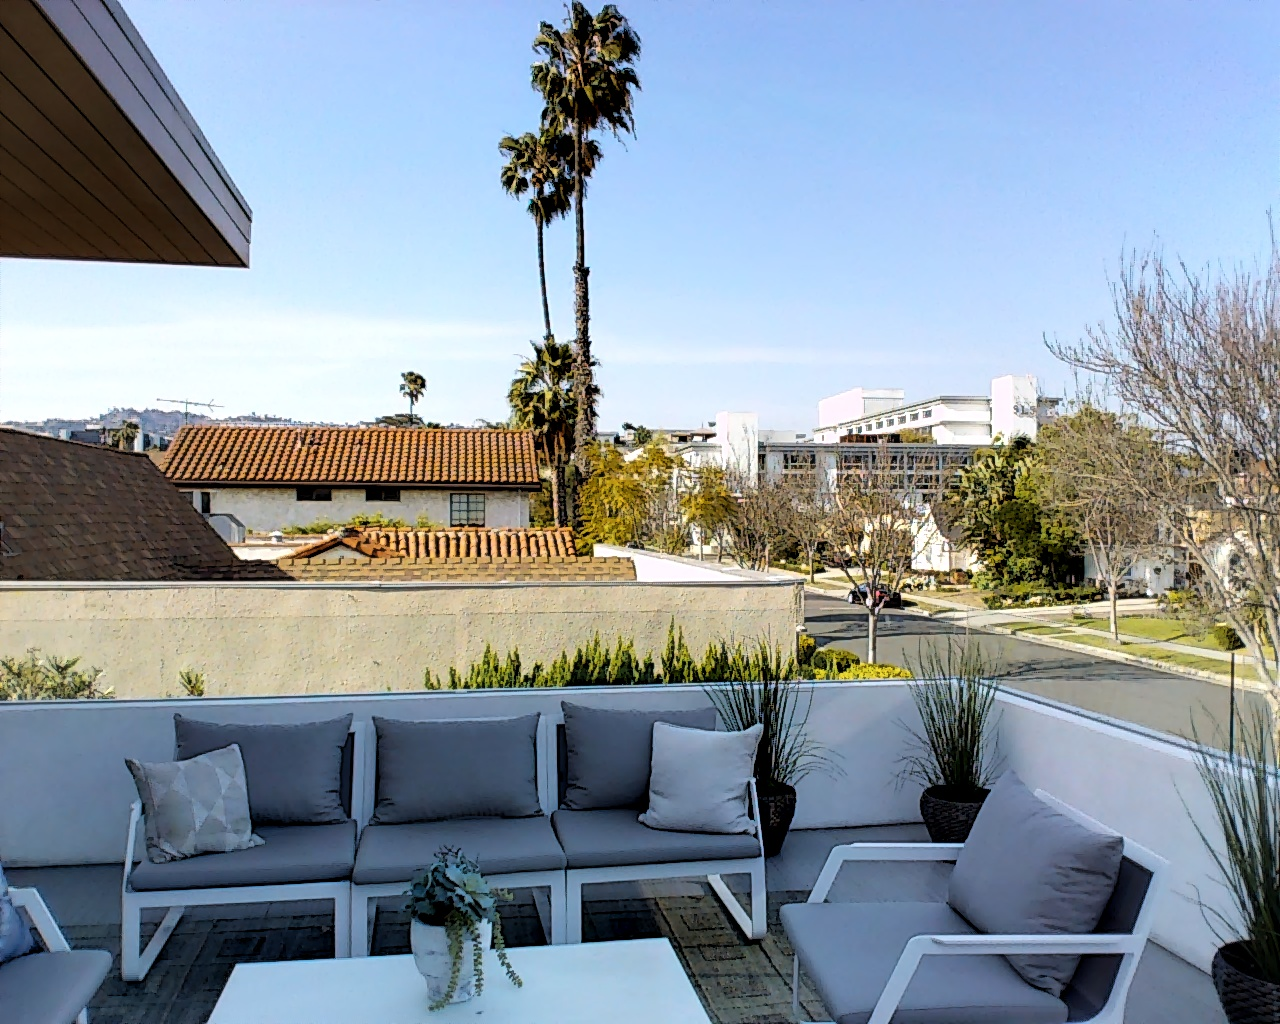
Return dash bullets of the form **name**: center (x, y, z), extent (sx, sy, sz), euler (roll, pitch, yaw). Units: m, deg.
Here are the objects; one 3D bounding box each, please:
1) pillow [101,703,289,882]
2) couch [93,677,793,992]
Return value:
- **pillow**: center (-1.569, 0.990, 3.810), extent (0.180, 0.420, 0.420), euler (-31, 9, 46)
- **couch**: center (-0.670, 1.120, 4.030), extent (2.309, 0.820, 0.850), euler (0, 0, -9)
